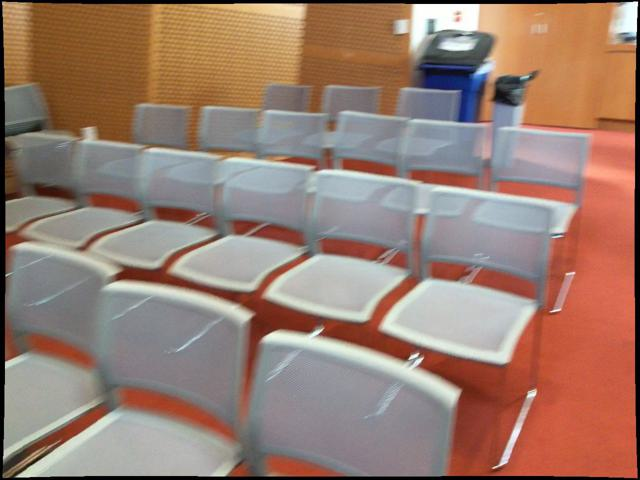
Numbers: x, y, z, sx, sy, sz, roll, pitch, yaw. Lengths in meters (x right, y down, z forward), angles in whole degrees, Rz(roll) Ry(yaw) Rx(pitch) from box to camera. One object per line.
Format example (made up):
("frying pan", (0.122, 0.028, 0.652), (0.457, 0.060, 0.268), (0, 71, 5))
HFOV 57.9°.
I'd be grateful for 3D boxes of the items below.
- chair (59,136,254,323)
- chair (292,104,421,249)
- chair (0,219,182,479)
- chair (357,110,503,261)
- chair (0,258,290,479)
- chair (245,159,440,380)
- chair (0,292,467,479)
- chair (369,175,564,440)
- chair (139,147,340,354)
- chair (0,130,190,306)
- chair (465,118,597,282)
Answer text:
("chair", (-0.749, -0.090, 2.780), (0.560, 0.691, 0.590), (8, 23, 28))
("chair", (0.240, -0.410, 3.450), (0.540, 0.711, 0.590), (8, 23, 28))
("chair", (-0.899, 0.390, 1.730), (0.630, 0.701, 0.590), (8, 23, 28))
("chair", (0.619, -0.340, 3.220), (0.620, 0.671, 0.580), (8, 23, 28))
("chair", (-0.480, 0.521, 1.460), (0.550, 0.721, 0.590), (8, 23, 28))
("chair", (0.120, 0.070, 2.320), (0.550, 0.651, 0.570), (8, 23, 28))
("chair", (-0.140, 0.591, 1.230), (0.719, 0.661, 0.610), (8, 23, 28))
("chair", (0.539, 0.190, 2.100), (0.510, 0.701, 0.580), (8, 23, 28))
("chair", (-0.320, 0.000, 2.570), (0.590, 0.691, 0.590), (8, 23, 28))
("chair", (-1.139, -0.150, 2.970), (0.650, 0.721, 0.530), (8, 23, 28))
("chair", (1.089, -0.240, 2.980), (0.500, 0.671, 0.580), (8, 23, 28))
